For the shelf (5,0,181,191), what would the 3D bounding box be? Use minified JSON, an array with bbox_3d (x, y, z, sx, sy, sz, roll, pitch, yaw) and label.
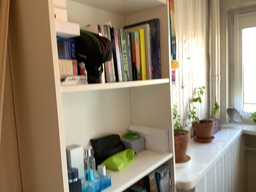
[{"bbox_3d":[-0.040,0.480,0.870,0.260,1.810,0.640,2,6,38],"label":"shelf"}]
